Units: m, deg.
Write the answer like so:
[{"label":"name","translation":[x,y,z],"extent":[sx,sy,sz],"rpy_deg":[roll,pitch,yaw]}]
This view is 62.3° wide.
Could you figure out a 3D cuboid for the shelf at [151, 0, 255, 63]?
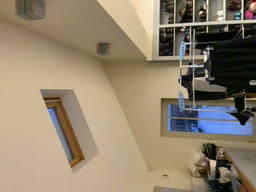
[{"label":"shelf","translation":[1.580,-1.320,4.090],"extent":[0.370,2.210,1.290],"rpy_deg":[3,-92,-77]}]

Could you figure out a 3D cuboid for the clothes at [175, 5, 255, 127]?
[{"label":"clothes","translation":[1.340,-0.210,2.020],"extent":[1.000,1.720,0.920],"rpy_deg":[8,-97,-77]}]
